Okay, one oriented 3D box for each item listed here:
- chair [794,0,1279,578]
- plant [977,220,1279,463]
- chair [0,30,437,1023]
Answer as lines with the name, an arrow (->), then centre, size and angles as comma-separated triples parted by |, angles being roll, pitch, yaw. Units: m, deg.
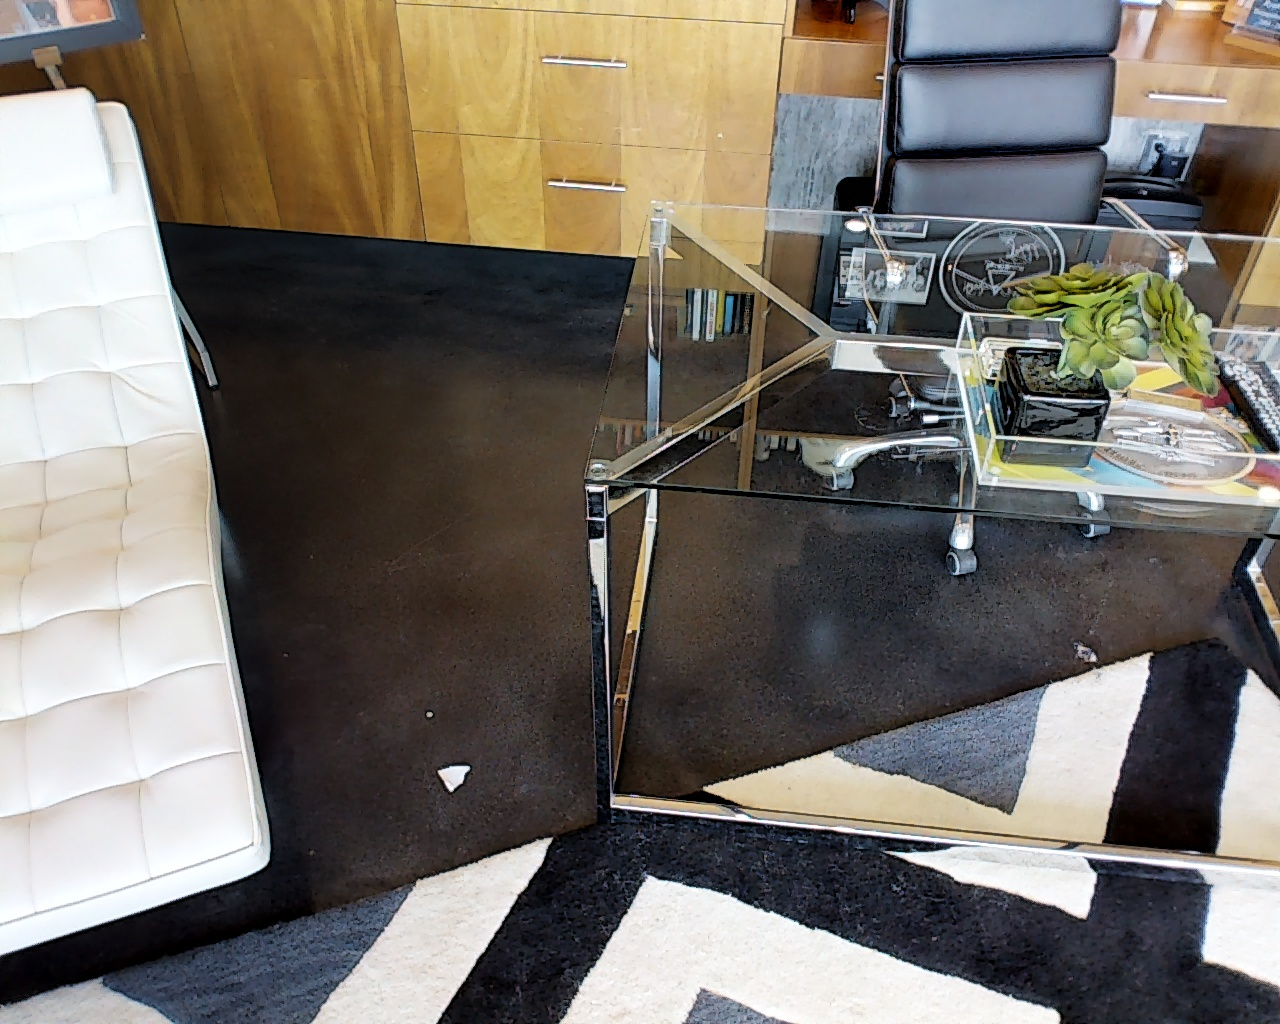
chair -> 0.800, -0.520, 2.200 | 0.700, 1.040, 0.740 | -4, 42, -6
plant -> 0.570, -0.200, 1.270 | 0.260, 0.220, 0.170 | 2, 42, 1
chair -> -1.030, -0.070, 1.800 | 0.880, 0.790, 1.740 | -15, 44, -17
